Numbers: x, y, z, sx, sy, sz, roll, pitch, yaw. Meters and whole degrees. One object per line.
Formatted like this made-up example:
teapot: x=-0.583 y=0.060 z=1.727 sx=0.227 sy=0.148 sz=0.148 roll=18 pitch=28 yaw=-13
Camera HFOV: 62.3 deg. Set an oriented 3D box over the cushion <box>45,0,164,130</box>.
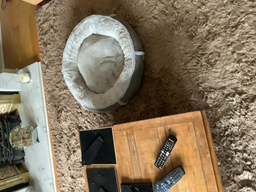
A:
cushion: x=-0.220 y=-0.240 z=1.470 sx=0.680 sy=0.120 sz=0.710 roll=-35 pitch=73 yaw=27
